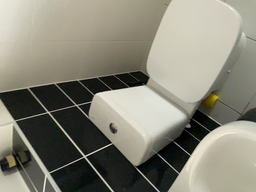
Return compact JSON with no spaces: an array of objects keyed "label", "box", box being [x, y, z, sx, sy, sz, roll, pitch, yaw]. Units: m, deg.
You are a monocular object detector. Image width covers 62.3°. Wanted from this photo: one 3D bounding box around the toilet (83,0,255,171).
[{"label":"toilet","box":[0.260,-0.140,1.040,0.370,0.760,0.650,39,125,30]}]
